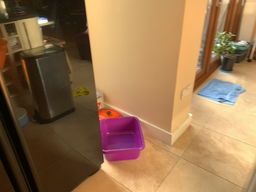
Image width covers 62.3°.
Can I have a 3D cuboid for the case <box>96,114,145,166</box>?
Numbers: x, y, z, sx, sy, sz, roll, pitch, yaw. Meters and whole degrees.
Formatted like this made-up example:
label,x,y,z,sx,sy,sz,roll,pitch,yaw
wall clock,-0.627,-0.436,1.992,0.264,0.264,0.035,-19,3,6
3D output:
label,x,y,z,sx,sy,sz,roll,pitch,yaw
case,-0.060,0.340,1.720,0.350,0.160,0.410,-2,31,-2
